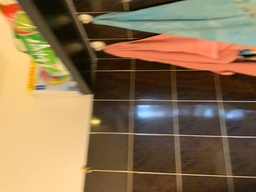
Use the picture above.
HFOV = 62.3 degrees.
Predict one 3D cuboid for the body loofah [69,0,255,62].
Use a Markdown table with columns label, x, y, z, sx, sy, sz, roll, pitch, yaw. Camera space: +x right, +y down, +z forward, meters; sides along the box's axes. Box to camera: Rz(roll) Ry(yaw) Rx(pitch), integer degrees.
| label | x | y | z | sx | sy | sz | roll | pitch | yaw |
| --- | --- | --- | --- | --- | --- | --- | --- | --- | --- |
| body loofah | 0.330 | -0.300 | 0.930 | 0.230 | 1.100 | 0.200 | 79 | -167 | -66 |

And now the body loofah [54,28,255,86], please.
| label | x | y | z | sx | sy | sz | roll | pitch | yaw |
| --- | --- | --- | --- | --- | --- | --- | --- | --- | --- |
| body loofah | 0.220 | -0.200 | 1.160 | 0.250 | 1.160 | 0.200 | 78 | -166 | -68 |
